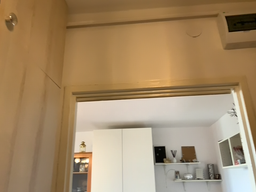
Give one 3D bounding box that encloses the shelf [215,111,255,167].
[{"bbox_3d":[1.270,0.520,2.260,0.270,0.390,1.240,-3,-21,6],"label":"shelf"}]
